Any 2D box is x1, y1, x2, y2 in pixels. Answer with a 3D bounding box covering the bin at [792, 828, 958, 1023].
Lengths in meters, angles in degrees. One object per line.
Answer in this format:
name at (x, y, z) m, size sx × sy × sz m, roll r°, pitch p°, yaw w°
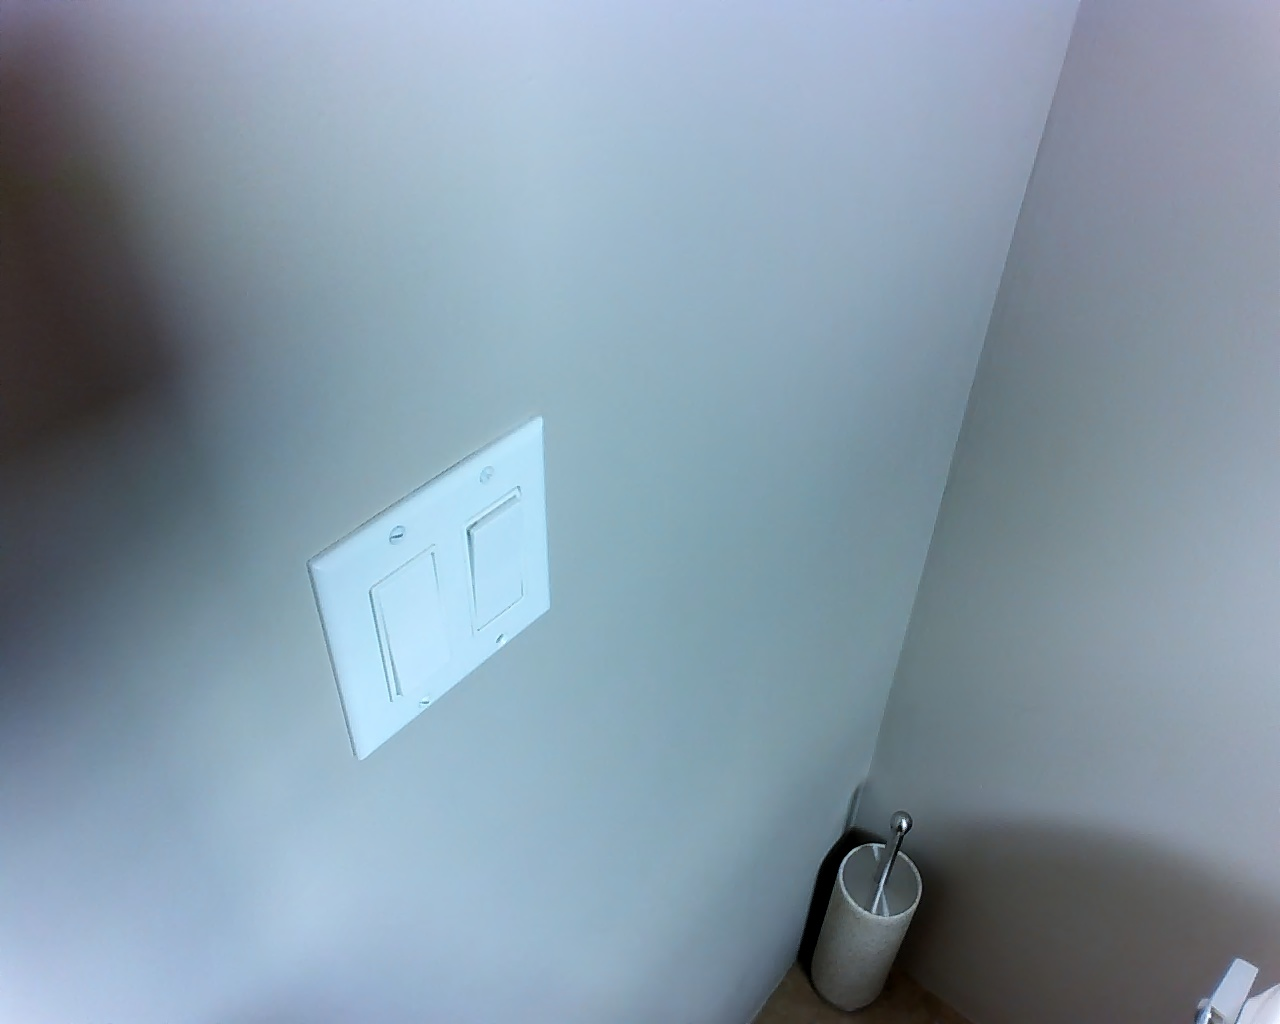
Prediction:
bin at (0.290, 0.550, 1.350) m, size 0.120 × 0.280 × 0.120 m, roll 29°, pitch 49°, yaw 27°
